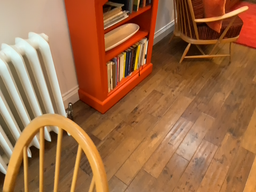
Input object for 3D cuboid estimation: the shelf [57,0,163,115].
[{"bbox_3d":[-0.090,-0.470,1.720,0.330,0.980,0.760,29,49,25],"label":"shelf"}]
